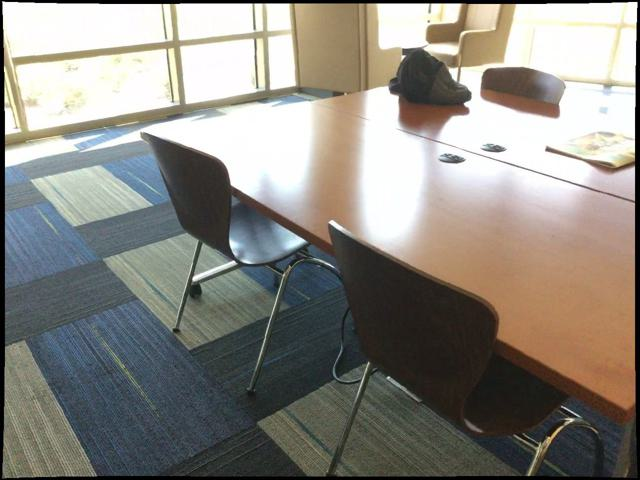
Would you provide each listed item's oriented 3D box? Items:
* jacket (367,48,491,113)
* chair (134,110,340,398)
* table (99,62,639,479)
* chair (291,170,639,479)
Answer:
[{"bbox_3d":[0.469,-0.712,2.530,0.330,0.190,0.400,-19,32,-35],"label":"jacket"},{"bbox_3d":[-0.289,0.020,1.990,0.449,0.772,0.490,-19,35,-36],"label":"chair"},{"bbox_3d":[0.459,0.010,2.030,1.638,0.862,1.959,-19,32,-35],"label":"table"},{"bbox_3d":[0.309,0.321,1.370,0.549,0.762,0.490,-19,35,-36],"label":"chair"}]
